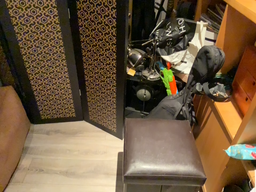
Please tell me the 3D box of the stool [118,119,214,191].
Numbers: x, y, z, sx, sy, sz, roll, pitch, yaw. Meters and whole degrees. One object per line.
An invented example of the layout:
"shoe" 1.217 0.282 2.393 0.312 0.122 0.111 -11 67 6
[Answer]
"stool" 0.170 0.440 1.300 0.450 0.370 0.460 -1 37 -4
